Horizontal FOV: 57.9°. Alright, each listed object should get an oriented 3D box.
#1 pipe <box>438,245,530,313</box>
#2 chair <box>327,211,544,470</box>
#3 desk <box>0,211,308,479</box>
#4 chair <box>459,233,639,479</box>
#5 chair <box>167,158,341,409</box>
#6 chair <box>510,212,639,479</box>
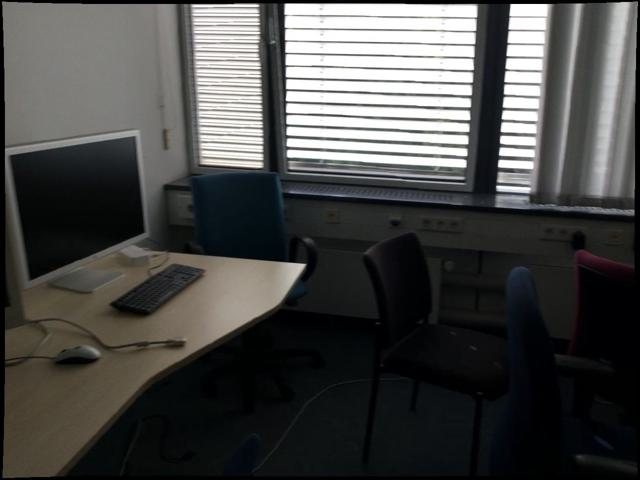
[{"bbox_3d":[0.889,0.210,3.190,0.450,0.280,0.210,5,19,10],"label":"pipe"},{"bbox_3d":[0.460,0.330,2.260,0.659,0.681,0.610,9,20,22],"label":"chair"},{"bbox_3d":[-0.769,0.591,1.680,1.059,0.781,2.010,5,19,10],"label":"desk"},{"bbox_3d":[0.749,0.571,1.570,0.639,0.961,0.650,8,20,20],"label":"chair"},{"bbox_3d":[-0.350,0.150,2.840,0.639,0.951,0.750,-6,20,-20],"label":"chair"},{"bbox_3d":[1.239,0.400,2.310,0.660,0.851,0.510,-9,21,-29],"label":"chair"}]
